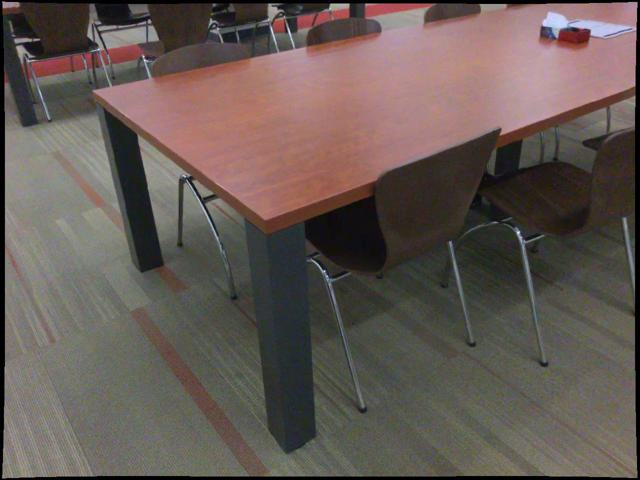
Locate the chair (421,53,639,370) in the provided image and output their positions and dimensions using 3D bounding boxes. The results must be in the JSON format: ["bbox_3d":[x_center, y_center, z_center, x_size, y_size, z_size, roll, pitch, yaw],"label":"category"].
[{"bbox_3d":[0.798,-0.140,1.980,0.529,0.761,0.670,-25,38,-30],"label":"chair"}]

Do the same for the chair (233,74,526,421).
[{"bbox_3d":[0.160,-0.020,1.830,0.509,0.771,0.660,-25,38,-30],"label":"chair"}]

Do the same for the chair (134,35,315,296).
[{"bbox_3d":[-0.379,-0.331,2.470,0.469,0.902,0.500,-24,38,-30],"label":"chair"}]
